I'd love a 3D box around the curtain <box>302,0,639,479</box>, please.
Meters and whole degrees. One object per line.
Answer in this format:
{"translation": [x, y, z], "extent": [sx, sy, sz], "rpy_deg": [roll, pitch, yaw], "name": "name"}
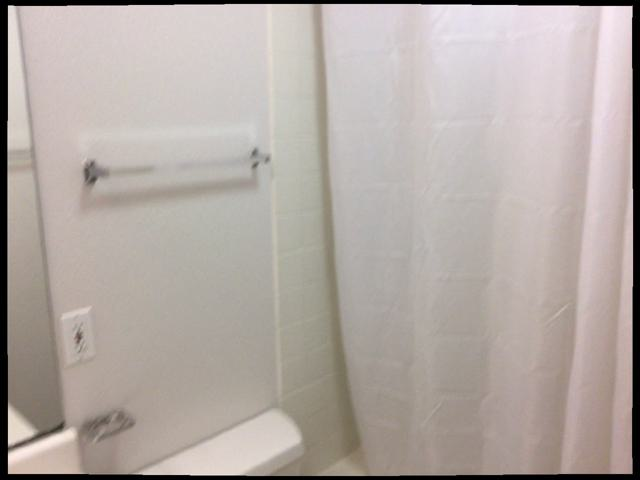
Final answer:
{"translation": [0.419, 0.120, 1.490], "extent": [1.109, 1.713, 0.220], "rpy_deg": [13, 18, 43], "name": "curtain"}
